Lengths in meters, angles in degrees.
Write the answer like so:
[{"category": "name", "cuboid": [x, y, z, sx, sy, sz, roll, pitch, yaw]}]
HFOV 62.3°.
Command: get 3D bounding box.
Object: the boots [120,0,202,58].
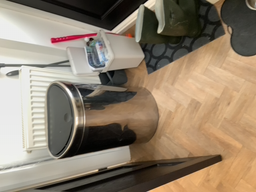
[{"category": "boots", "cuboid": [0.200, -0.450, 1.280, 0.280, 0.350, 0.300, -23, 72, 44]}]
